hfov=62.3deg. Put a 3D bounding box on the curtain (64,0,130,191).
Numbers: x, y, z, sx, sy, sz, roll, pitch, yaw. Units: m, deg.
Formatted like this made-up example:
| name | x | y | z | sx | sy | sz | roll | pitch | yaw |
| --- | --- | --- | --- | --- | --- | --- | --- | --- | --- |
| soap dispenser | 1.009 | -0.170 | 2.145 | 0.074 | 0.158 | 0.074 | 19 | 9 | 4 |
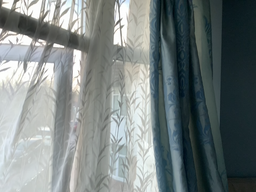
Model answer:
| name | x | y | z | sx | sy | sz | roll | pitch | yaw |
| --- | --- | --- | --- | --- | --- | --- | --- | --- | --- |
| curtain | -0.130 | 0.100 | 0.860 | 0.220 | 1.510 | 0.170 | 2 | -1 | -13 |
